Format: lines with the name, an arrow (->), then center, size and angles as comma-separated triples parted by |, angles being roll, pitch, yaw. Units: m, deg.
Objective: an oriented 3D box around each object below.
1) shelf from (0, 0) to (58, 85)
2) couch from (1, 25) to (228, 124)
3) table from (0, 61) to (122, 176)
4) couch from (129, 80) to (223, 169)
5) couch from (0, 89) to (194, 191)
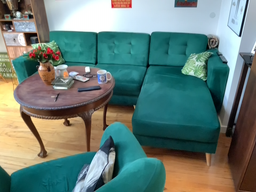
shelf -> -1.600, -1.080, 3.180 | 0.670, 1.830, 0.310 | 4, 29, 10
couch -> -0.160, -0.390, 2.850 | 2.460, 0.860, 0.980 | 4, 29, 10
table -> -0.570, 0.150, 2.050 | 0.840, 0.700, 0.800 | 4, 29, 10
couch -> 0.440, 0.230, 2.090 | 0.730, 0.490, 0.680 | 4, 29, 10
couch -> -0.350, 0.580, 1.150 | 0.970, 0.820, 0.830 | -10, 30, -15
